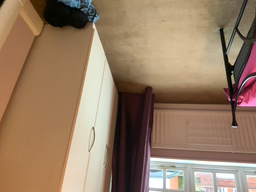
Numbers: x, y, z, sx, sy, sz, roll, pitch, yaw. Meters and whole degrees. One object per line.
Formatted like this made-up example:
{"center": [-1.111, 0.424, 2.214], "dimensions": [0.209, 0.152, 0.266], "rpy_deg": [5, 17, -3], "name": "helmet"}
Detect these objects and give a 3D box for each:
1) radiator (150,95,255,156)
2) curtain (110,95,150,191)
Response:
{"center": [1.070, 0.340, 2.660], "dimensions": [1.560, 0.760, 0.080], "rpy_deg": [0, 151, 9], "name": "radiator"}
{"center": [0.020, 0.940, 2.260], "dimensions": [0.360, 1.990, 0.320], "rpy_deg": [1, 151, 7], "name": "curtain"}
